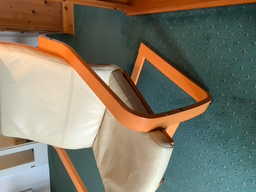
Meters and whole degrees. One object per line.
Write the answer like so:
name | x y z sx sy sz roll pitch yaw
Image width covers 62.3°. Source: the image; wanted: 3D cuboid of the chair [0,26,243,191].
chair | -0.240 0.180 1.030 0.850 0.970 0.710 46 131 39
